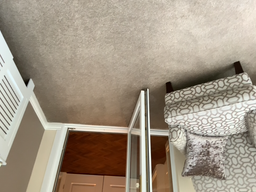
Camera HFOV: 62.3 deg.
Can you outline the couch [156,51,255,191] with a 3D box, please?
[{"bbox_3d":[0.830,0.350,1.970,0.800,0.890,0.960,-16,140,23],"label":"couch"}]
